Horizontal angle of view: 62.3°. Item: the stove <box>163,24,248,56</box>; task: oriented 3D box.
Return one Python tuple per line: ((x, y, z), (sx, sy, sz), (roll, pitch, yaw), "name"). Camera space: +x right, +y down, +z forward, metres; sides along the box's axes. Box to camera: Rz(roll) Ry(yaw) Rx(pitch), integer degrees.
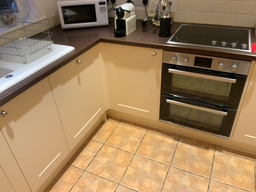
((0.640, -0.470, 1.690), (0.570, 0.010, 0.550), (13, 37, 22), "stove")
